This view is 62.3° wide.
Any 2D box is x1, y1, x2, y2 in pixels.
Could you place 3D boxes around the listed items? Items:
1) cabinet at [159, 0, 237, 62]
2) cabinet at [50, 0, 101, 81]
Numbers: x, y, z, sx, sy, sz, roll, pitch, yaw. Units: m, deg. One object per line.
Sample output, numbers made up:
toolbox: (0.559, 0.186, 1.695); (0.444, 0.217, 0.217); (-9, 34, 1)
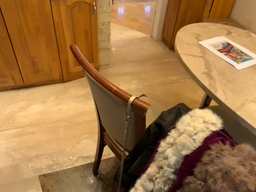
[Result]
cabinet: (0.820, -0.970, 2.630); (0.550, 0.850, 0.560); (-9, 45, -16)
cabinet: (-0.500, -0.590, 2.090); (0.400, 0.820, 0.300); (-10, 45, -17)
